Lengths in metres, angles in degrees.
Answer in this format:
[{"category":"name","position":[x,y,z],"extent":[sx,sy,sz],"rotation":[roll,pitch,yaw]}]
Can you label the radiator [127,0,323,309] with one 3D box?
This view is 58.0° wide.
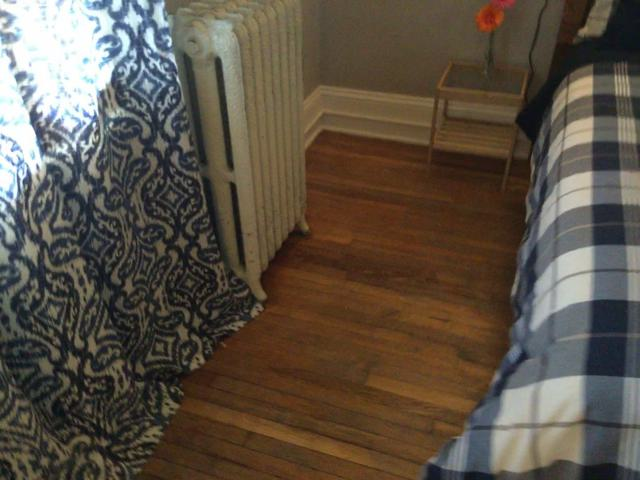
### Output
[{"category":"radiator","position":[-0.250,-0.320,1.970],"extent":[0.290,0.940,0.550],"rotation":[11,40,19]}]
